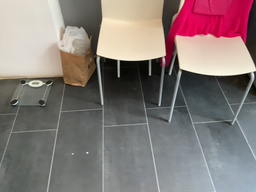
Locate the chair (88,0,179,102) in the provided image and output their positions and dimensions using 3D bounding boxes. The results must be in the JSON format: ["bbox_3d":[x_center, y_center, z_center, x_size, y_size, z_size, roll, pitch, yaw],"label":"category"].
[{"bbox_3d":[0.030,-0.420,1.530,0.450,0.810,0.540,0,49,0],"label":"chair"}]

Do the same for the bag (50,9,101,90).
[{"bbox_3d":[-0.400,-0.380,1.770,0.290,0.510,0.400,-3,49,-3],"label":"bag"}]
